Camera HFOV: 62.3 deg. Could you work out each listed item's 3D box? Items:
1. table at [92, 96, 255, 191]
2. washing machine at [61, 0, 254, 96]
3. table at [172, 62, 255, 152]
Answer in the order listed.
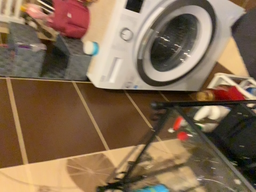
[{"bbox_3d":[0.450,0.280,0.780,0.430,1.000,0.370,52,129,38],"label":"table"},{"bbox_3d":[0.150,-0.420,1.310,0.580,0.840,0.610,52,128,39],"label":"washing machine"},{"bbox_3d":[0.540,0.060,1.210,0.290,0.330,0.370,53,128,39],"label":"table"}]
